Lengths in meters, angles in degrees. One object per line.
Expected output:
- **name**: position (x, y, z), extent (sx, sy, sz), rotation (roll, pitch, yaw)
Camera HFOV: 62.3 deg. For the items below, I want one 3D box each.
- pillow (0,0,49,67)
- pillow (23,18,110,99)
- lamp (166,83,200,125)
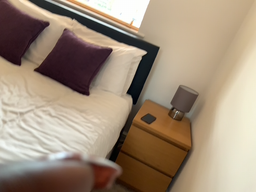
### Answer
- **pillow**: position (-0.820, -0.460, 1.450), extent (0.350, 0.380, 0.150), rotation (29, -9, 3)
- **pillow**: position (-0.390, -0.250, 1.420), extent (0.400, 0.360, 0.170), rotation (28, -14, 8)
- **lamp**: position (0.440, 0.060, 1.700), extent (0.160, 0.240, 0.220), rotation (26, 20, 8)
